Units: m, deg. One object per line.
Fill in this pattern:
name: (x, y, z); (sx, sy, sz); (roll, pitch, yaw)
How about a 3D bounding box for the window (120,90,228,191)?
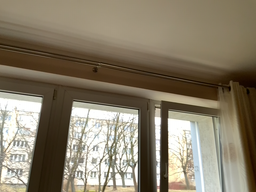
window: (0.480, 0.810, 2.280); (1.020, 1.540, 0.450); (9, -22, -19)
